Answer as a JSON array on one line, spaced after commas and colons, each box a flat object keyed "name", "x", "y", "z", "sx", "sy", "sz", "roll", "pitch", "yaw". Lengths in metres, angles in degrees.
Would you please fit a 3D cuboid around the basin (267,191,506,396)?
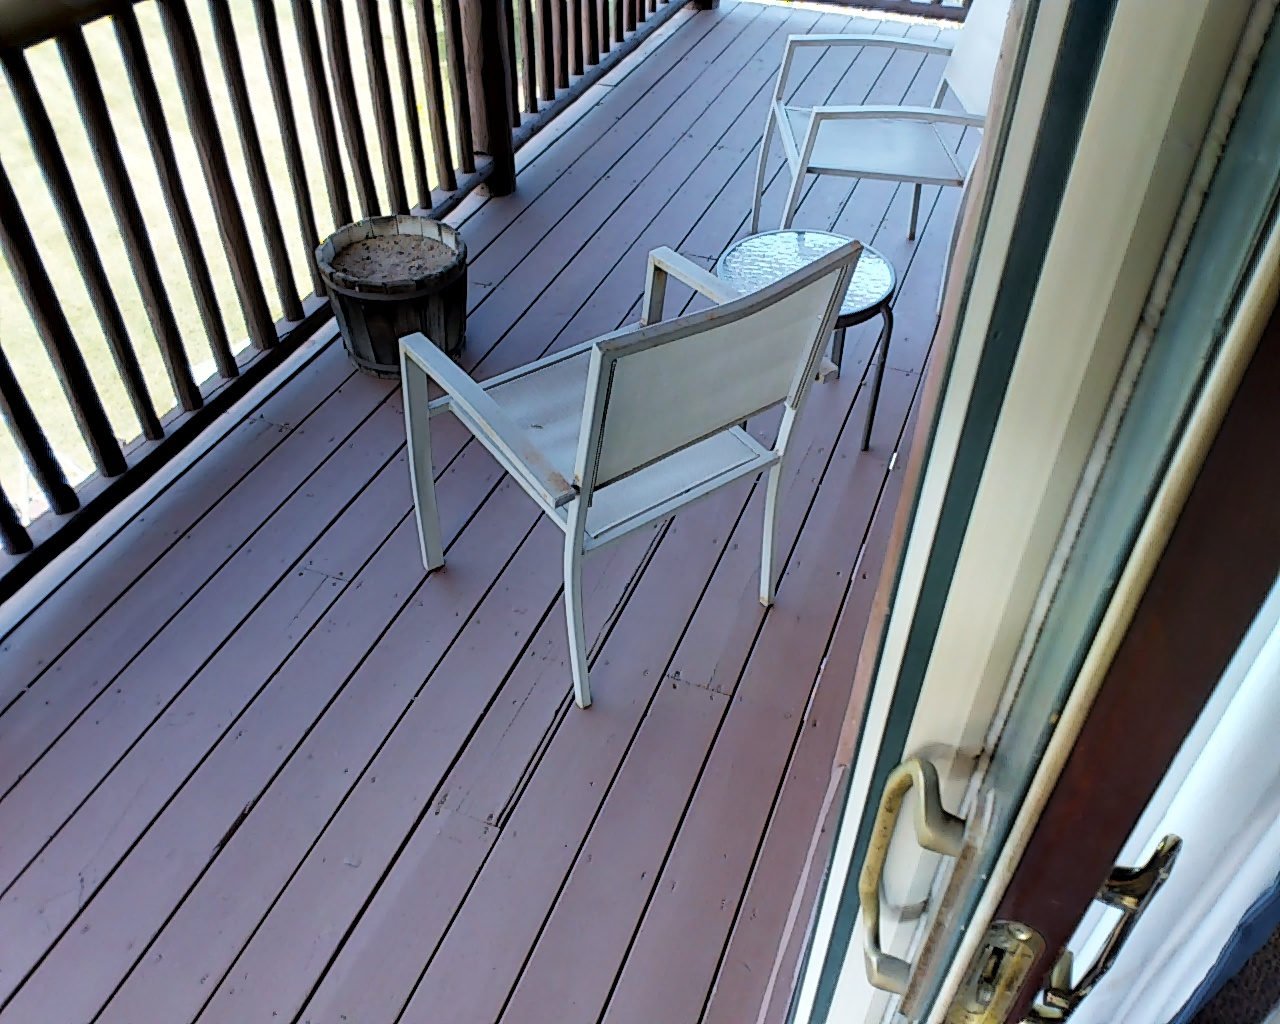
[{"name": "basin", "x": -0.650, "y": -0.590, "z": 2.850, "sx": 0.410, "sy": 0.290, "sz": 0.440, "roll": 16, "pitch": 43, "yaw": 16}]

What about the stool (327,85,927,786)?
[{"name": "stool", "x": -0.040, "y": -0.160, "z": 1.970, "sx": 0.640, "sy": 0.890, "sz": 0.700, "roll": -27, "pitch": 48, "yaw": -28}]
